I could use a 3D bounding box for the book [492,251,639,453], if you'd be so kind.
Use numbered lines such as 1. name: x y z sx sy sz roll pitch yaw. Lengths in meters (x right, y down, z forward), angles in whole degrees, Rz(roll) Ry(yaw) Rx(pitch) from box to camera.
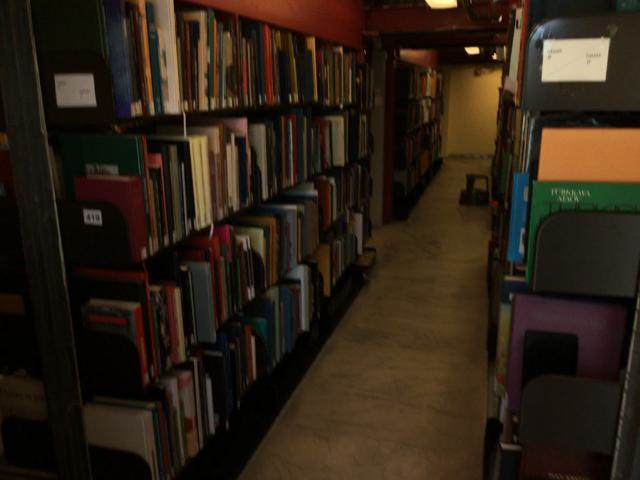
1. book: 0.570 0.250 1.360 0.300 0.400 0.190 2 16 16

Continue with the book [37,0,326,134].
1. book: -0.330 -0.660 2.090 0.290 0.400 1.510 2 16 16

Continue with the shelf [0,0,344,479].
1. shelf: -0.420 0.010 2.300 0.580 1.860 1.760 2 16 16

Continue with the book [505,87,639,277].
1. book: 0.570 -0.130 1.290 0.280 0.400 0.100 2 16 16

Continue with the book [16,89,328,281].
1. book: -0.380 -0.330 2.260 0.390 0.460 1.590 2 16 16

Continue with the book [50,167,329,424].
1. book: -0.340 0.060 2.330 0.310 0.470 1.630 2 16 16
